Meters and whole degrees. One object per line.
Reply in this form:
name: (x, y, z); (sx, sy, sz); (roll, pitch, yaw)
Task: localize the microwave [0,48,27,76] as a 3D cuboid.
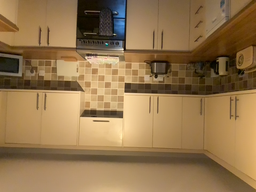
microwave: (-1.790, -0.470, 2.980); (0.490, 0.290, 0.540); (3, 178, -6)
